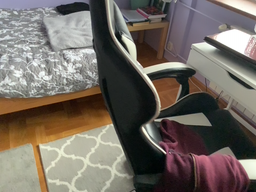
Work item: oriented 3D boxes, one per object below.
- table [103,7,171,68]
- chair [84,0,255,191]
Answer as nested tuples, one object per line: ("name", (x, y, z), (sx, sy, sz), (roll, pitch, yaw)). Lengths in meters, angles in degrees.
("table", (0.070, -0.730, 2.560), (0.560, 0.470, 0.590), (-13, 42, -23))
("chair", (0.250, 0.100, 0.890), (0.800, 1.210, 0.700), (-3, 39, -12))
